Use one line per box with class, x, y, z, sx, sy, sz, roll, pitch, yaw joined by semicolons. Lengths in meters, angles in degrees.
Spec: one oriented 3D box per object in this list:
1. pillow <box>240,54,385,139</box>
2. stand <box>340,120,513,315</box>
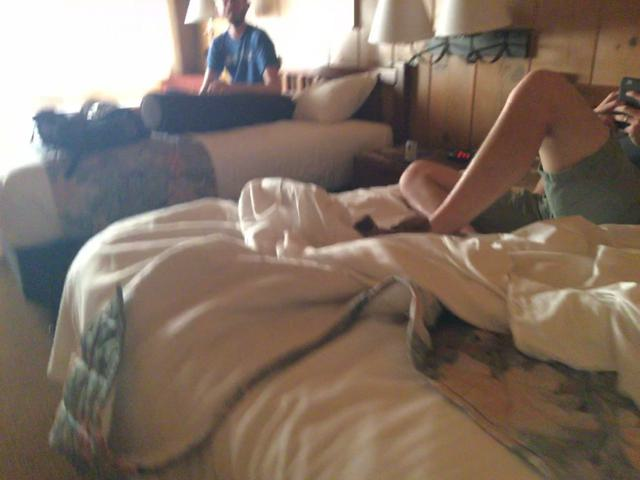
pillow;-0.060;-0.810;3.170;0.460;0.330;0.700;-15;27;-33
stand;0.460;-0.140;2.680;0.450;0.690;0.590;-15;27;-33
